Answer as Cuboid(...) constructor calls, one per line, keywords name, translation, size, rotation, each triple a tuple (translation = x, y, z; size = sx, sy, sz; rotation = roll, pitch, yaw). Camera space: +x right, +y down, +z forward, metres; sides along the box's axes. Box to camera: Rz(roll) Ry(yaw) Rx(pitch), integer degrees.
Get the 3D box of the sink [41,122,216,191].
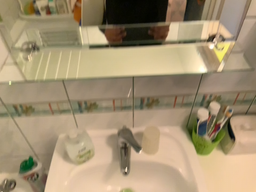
Cuboid(name="sink", translation=(0.000, 0.310, 0.710), size=(0.500, 0.200, 0.380), rotation=(-2, 45, -1))
